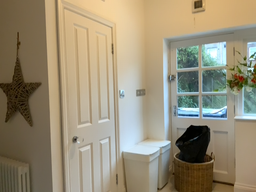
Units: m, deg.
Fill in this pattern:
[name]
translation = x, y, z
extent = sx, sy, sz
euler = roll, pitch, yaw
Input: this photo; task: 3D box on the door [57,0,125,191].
[door]
translation = -0.310, 0.150, 2.130
extent = 0.080, 1.950, 0.850
euler = 0, 2, 32
